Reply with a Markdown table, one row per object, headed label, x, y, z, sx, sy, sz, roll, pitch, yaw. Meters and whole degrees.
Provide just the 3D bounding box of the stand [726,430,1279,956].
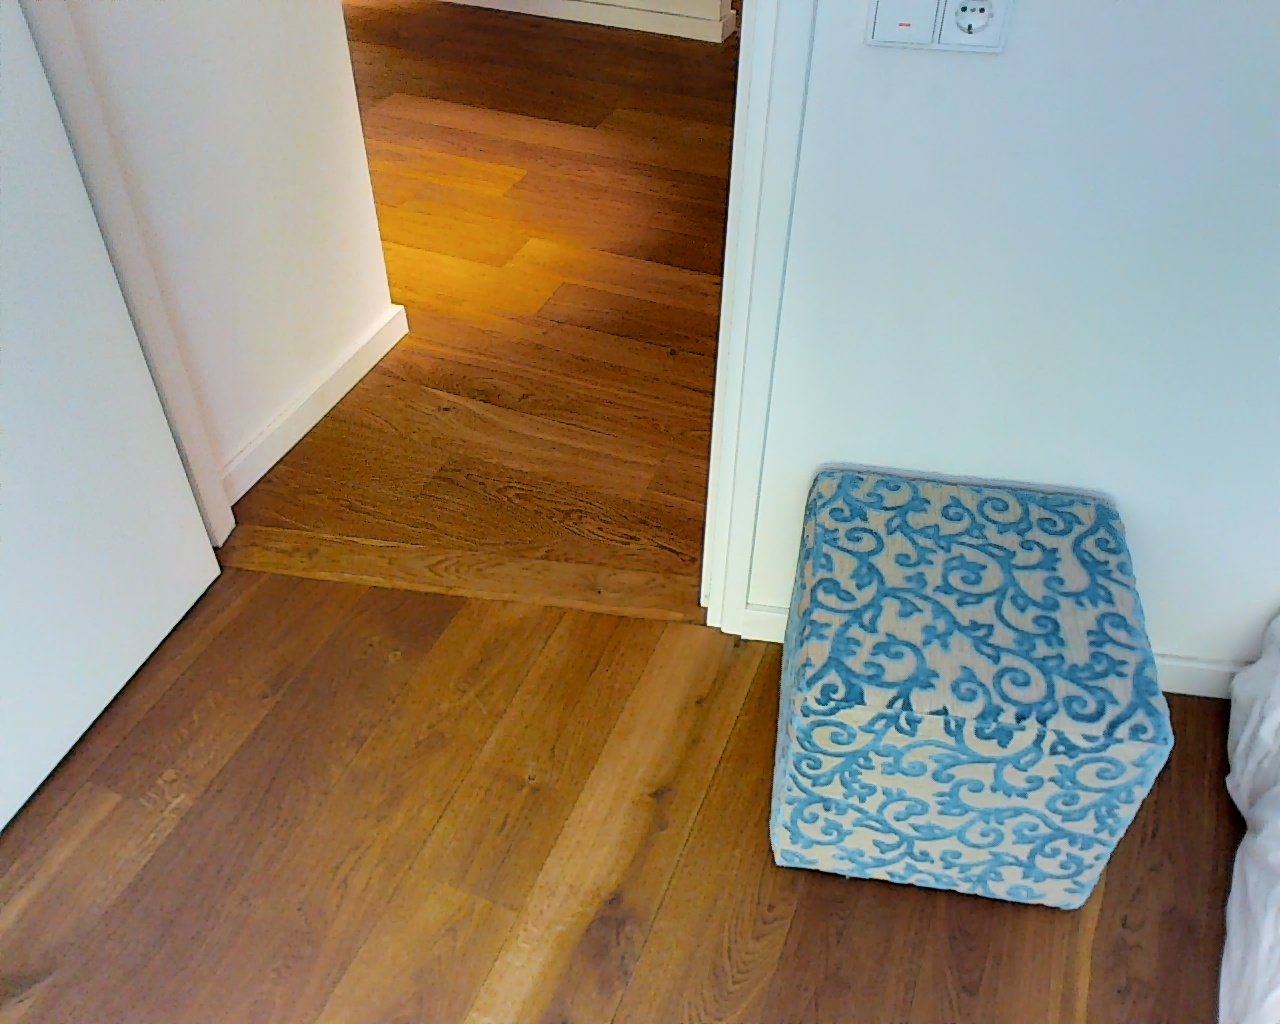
| label | x | y | z | sx | sy | sz | roll | pitch | yaw |
| --- | --- | --- | --- | --- | --- | --- | --- | --- | --- |
| stand | 0.440 | 0.240 | 1.520 | 0.570 | 0.440 | 0.510 | 6 | 43 | 5 |
